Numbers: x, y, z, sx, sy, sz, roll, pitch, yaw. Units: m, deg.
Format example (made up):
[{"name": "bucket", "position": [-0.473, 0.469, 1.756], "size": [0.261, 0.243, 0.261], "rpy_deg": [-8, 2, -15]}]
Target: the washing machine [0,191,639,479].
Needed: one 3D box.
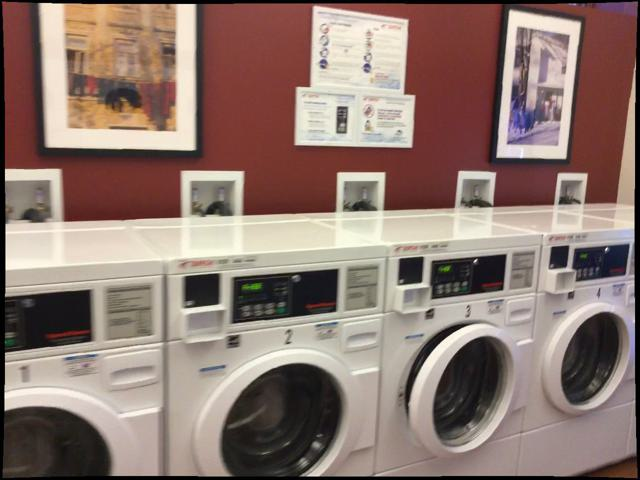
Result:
[{"name": "washing machine", "position": [0.060, 0.450, 2.220], "size": [2.788, 1.081, 1.000], "rpy_deg": [-4, 13, -26]}]
